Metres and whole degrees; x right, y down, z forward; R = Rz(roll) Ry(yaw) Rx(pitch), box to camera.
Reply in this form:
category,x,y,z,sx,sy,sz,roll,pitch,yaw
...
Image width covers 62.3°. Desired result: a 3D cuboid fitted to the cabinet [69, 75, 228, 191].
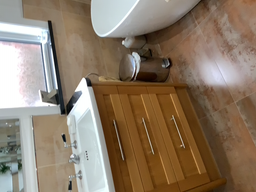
category,x,y,z,sx,sy,sz,roll,pitch,yaw
cabinet,0.110,0.340,1.560,0.470,0.840,0.830,-45,54,48
